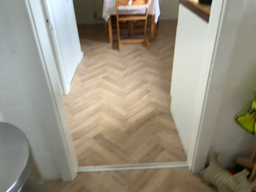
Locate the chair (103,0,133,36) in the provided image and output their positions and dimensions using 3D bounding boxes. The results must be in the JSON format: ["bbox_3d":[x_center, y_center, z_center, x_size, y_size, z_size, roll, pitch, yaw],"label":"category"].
[{"bbox_3d":[-0.170,-1.520,3.590,0.470,0.880,0.330,-2,33,0],"label":"chair"}]

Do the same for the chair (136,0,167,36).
[{"bbox_3d":[0.370,-1.480,3.500,0.470,0.880,0.320,-1,33,1],"label":"chair"}]
